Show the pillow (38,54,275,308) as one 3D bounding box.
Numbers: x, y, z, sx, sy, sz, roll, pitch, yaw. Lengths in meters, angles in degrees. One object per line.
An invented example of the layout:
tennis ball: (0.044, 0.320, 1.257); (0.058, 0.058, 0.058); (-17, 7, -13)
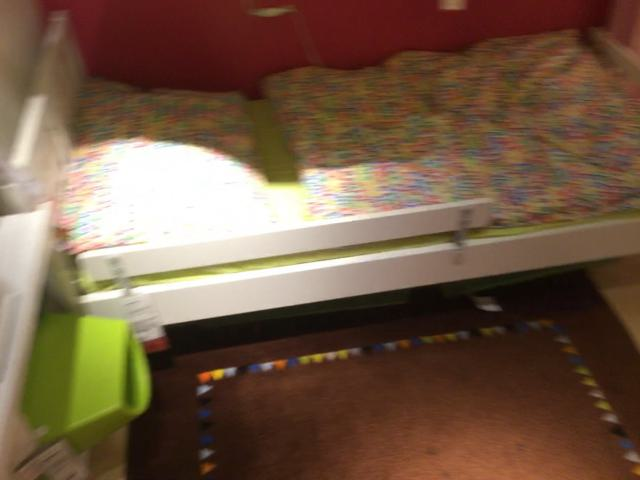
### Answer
pillow: (-0.370, -0.200, 1.470); (0.440, 0.180, 0.750); (-9, 42, -2)
